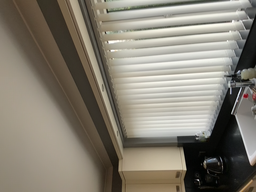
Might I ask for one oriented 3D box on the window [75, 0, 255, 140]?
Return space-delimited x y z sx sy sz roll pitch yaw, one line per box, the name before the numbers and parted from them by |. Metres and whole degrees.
window | 0.310 -0.270 1.800 2.360 1.140 0.140 80 -172 -50
